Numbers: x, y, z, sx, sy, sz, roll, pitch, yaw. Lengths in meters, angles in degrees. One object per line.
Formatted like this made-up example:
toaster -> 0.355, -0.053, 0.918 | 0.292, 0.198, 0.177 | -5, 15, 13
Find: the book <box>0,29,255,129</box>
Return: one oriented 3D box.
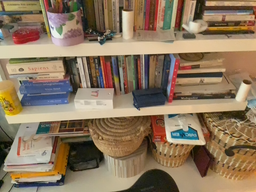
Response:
book -> -0.010, -0.100, 1.040 | 1.130, 0.330, 0.310 | -3, 35, -4
